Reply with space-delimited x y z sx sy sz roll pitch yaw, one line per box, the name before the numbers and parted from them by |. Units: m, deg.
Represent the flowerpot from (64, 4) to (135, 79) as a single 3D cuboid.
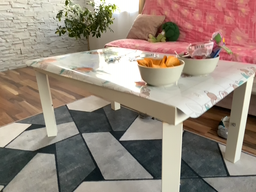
flowerpot | -0.320 -0.710 2.650 0.710 0.780 0.410 -20 28 -38
